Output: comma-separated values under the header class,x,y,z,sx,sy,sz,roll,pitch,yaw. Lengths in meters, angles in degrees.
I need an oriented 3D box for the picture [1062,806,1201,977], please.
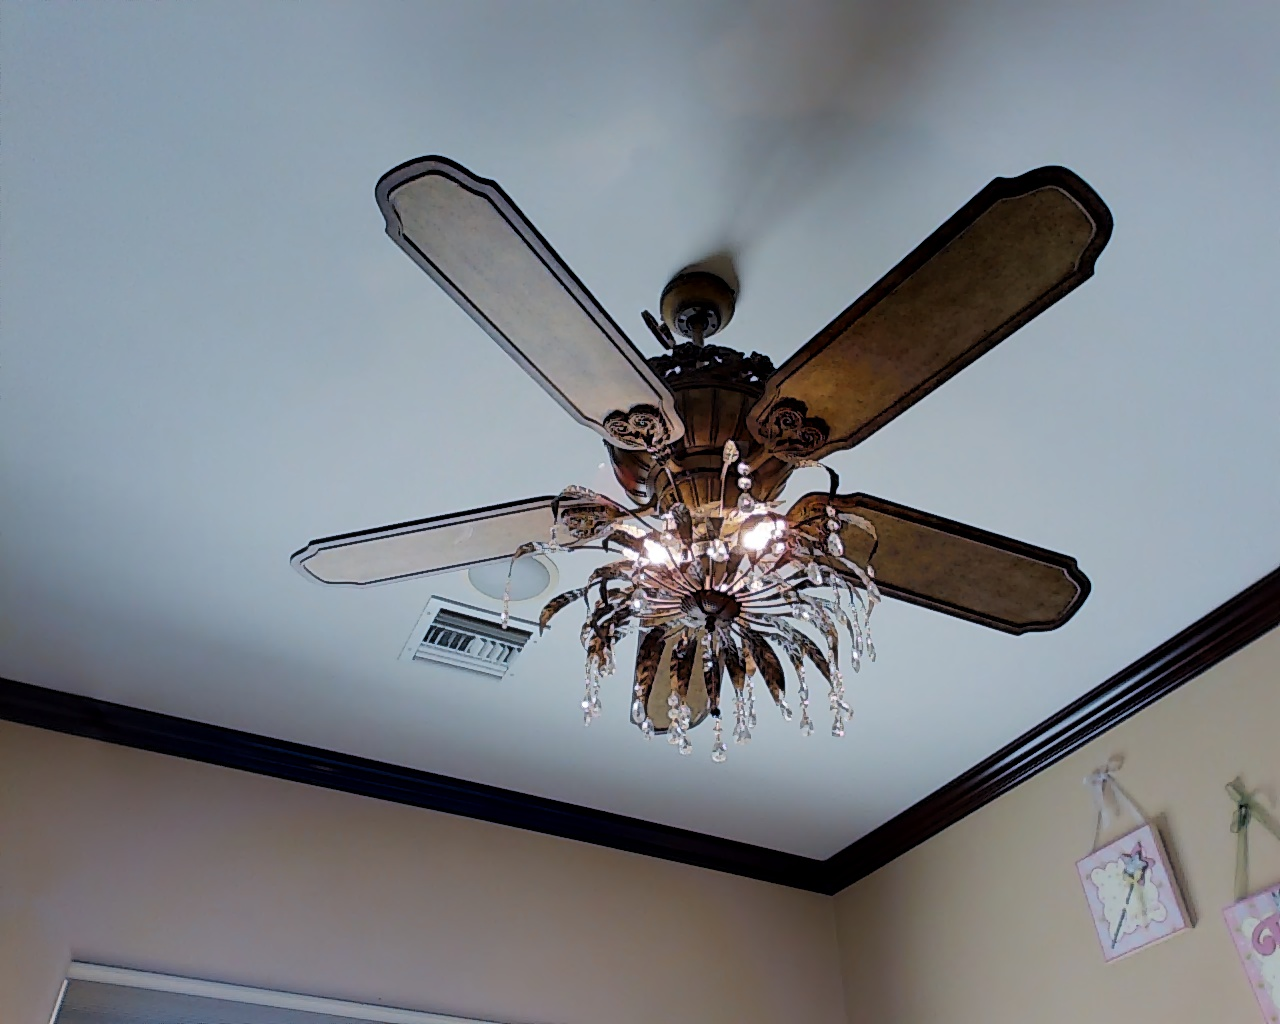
class,x,y,z,sx,sy,sz,roll,pitch,yaw
picture,1.180,0.920,2.590,0.040,0.310,0.290,18,-43,-19
